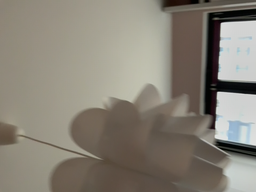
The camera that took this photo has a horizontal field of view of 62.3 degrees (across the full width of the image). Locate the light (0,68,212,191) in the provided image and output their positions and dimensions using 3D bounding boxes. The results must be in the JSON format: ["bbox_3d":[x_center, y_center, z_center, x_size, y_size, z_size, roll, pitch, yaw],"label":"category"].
[{"bbox_3d":[-0.150,0.210,0.710,0.880,0.430,0.450,-20,23,-40],"label":"light"}]
